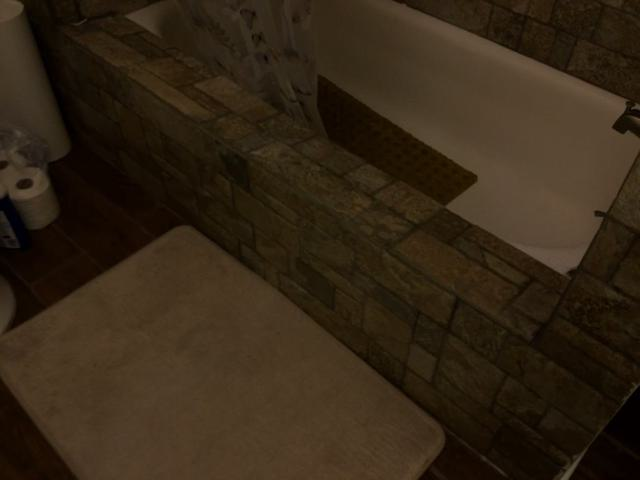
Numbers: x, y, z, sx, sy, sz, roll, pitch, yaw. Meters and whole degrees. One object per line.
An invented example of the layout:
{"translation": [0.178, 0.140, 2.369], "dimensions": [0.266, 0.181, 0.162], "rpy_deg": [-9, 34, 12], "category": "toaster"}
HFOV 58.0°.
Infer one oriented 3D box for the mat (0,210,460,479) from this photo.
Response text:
{"translation": [-0.260, 0.330, 1.290], "dimensions": [0.940, 0.050, 0.610], "rpy_deg": [35, 56, 28], "category": "mat"}
